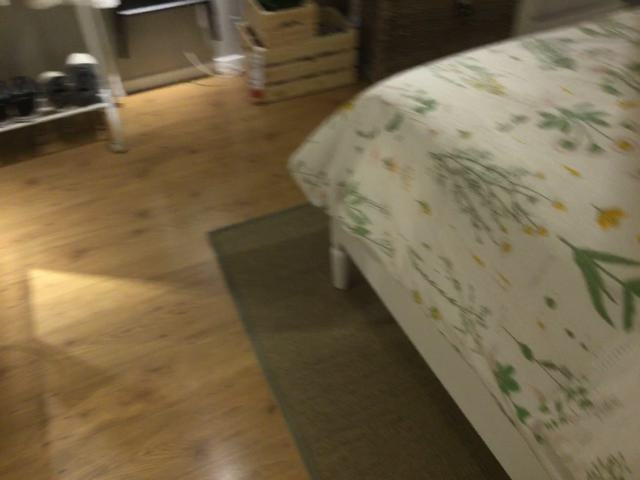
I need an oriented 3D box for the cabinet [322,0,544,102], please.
[{"bbox_3d":[0.500,-1.090,2.620,0.830,0.520,0.540,-21,44,-14],"label":"cabinet"}]
